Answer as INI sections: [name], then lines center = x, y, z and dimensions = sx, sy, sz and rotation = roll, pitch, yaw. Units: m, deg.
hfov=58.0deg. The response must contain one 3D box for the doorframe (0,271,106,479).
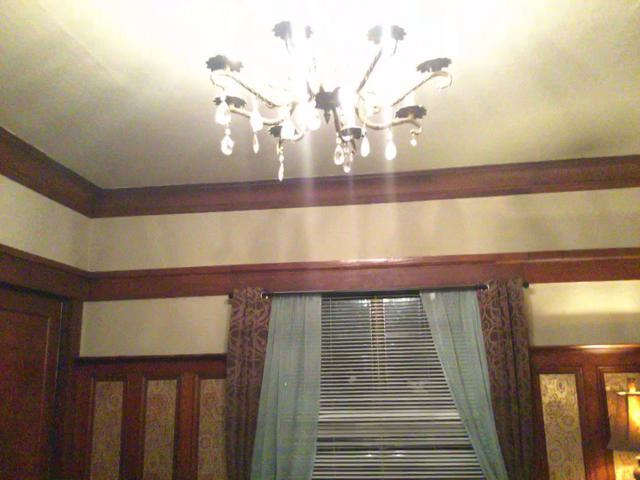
[doorframe]
center = -1.530, 1.250, 3.000
dimensions = 0.180, 2.010, 0.950
rotation = -4, -16, 9

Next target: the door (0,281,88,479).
[door]
center = -1.580, 1.280, 3.020
dimensions = 0.110, 2.000, 0.830
rotation = -4, -17, 9

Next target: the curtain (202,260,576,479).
[curtain]
center = 0.310, 0.800, 3.150
dimensions = 1.860, 1.230, 0.270
rotation = -4, -17, 9
